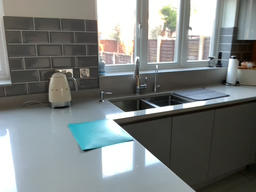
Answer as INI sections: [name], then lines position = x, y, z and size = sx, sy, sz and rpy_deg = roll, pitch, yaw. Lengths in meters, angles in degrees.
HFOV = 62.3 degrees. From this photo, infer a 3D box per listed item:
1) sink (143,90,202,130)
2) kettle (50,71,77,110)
[sink]
position = 0.400, 0.110, 1.990
size = 0.350, 0.220, 0.410
rpy_deg = -7, 16, -25
[kettle]
position = -0.510, -0.050, 1.670
size = 0.160, 0.260, 0.180
rpy_deg = -6, 16, -23
